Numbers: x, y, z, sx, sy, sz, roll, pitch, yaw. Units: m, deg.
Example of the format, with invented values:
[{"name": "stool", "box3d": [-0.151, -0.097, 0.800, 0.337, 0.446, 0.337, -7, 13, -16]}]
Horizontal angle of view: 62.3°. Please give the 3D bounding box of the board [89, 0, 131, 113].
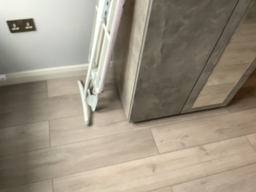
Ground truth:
[{"name": "board", "box3d": [-0.110, -0.380, 1.160, 0.130, 1.130, 0.350, -13, 52, -6]}]
